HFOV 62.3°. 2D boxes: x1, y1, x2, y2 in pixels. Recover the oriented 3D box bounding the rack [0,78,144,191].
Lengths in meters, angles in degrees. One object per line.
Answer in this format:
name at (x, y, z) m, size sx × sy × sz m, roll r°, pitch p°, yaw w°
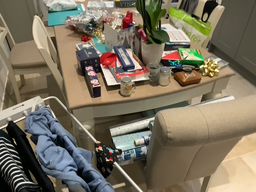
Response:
rack at (-0.320, 0.550, 0.900) m, size 0.540 × 0.730 × 0.990 m, roll -26°, pitch 48°, yaw -29°
